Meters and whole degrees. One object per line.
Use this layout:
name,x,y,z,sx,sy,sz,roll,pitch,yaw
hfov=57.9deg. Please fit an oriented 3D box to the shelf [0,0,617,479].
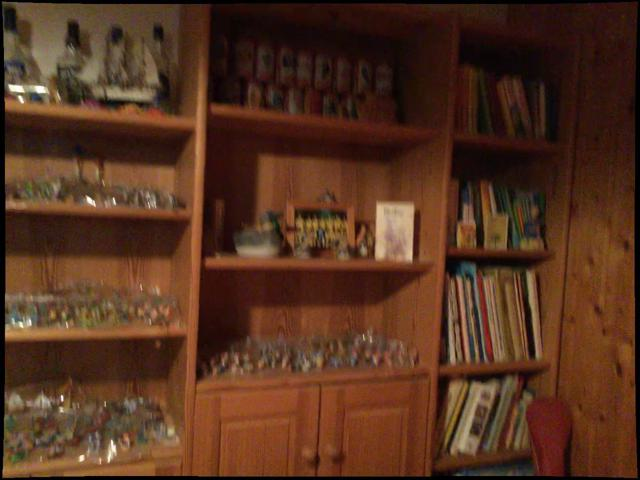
shelf,-0.150,0.330,1.770,1.998,2.132,0.520,-1,7,-21

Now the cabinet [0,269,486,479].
cabinet,-0.689,0.761,1.520,2.388,1.271,0.300,-1,7,-21
